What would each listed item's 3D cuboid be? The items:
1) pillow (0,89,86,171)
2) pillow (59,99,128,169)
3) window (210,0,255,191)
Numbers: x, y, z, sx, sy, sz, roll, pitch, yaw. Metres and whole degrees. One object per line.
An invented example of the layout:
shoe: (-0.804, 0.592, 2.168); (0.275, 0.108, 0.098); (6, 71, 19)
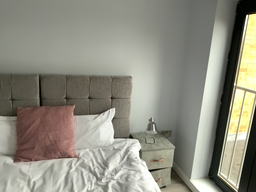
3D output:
pillow: (-0.750, 0.300, 1.920); (0.530, 0.510, 0.110); (-35, 10, -8)
pillow: (-0.340, 0.360, 2.110); (0.480, 0.450, 0.240); (-31, 11, -9)
window: (1.220, 0.150, 1.810); (0.090, 2.170, 0.940); (-1, 15, -19)
